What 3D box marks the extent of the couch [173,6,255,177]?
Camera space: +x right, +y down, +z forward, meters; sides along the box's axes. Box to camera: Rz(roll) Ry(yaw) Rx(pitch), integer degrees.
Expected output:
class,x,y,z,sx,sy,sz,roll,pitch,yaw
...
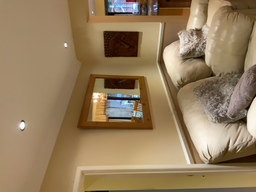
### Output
class,x,y,z,sx,sy,sz,roll,pitch,yaw
couch,1.050,-0.100,1.870,1.110,0.960,1.050,-93,3,-53

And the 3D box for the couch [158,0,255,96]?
class,x,y,z,sx,sy,sz,roll,pitch,yaw
couch,1.010,-0.760,2.760,1.120,0.990,1.050,-93,3,-53
